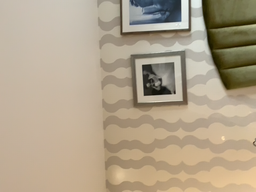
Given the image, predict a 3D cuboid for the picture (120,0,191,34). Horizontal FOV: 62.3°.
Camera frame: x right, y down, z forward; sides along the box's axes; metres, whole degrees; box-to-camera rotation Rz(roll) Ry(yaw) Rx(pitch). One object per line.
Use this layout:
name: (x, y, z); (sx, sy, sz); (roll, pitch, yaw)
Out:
picture: (0.230, -0.820, 1.840); (0.040, 0.600, 0.500); (-14, -78, -80)

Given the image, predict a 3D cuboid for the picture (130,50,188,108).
picture: (0.270, -0.140, 1.860); (0.040, 0.480, 0.480); (-29, -63, -79)
